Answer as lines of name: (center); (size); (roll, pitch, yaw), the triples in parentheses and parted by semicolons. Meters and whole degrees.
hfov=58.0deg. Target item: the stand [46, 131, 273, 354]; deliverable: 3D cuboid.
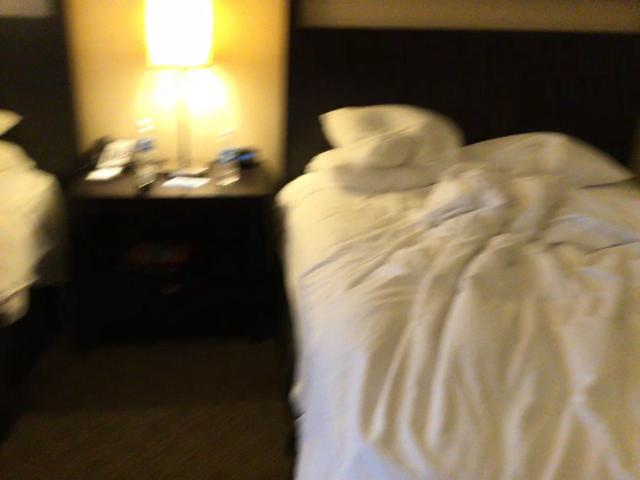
stand: (-0.600, -0.010, 2.440); (0.790, 0.790, 0.520); (0, 22, -6)
